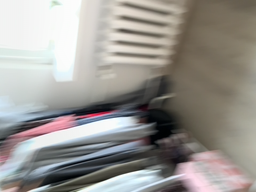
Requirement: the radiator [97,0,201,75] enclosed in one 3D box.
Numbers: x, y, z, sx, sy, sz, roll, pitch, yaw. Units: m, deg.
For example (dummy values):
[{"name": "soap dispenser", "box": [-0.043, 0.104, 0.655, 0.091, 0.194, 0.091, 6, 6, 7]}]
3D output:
[{"name": "radiator", "box": [0.180, -0.550, 1.630, 0.160, 0.690, 0.760, 45, 128, 46]}]
